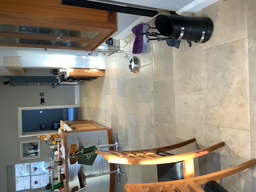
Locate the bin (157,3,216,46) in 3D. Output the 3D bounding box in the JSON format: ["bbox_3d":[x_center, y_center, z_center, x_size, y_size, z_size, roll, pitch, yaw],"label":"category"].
[{"bbox_3d":[0.560,-0.670,2.060,0.320,0.450,0.270,179,90,-66],"label":"bin"}]

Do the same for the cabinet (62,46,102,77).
[{"bbox_3d":[-1.160,-0.840,5.320,0.510,0.900,0.650,-178,87,-66],"label":"cabinet"}]

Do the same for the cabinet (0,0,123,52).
[{"bbox_3d":[-1.070,-0.930,2.660,1.200,1.670,0.430,-177,86,-66],"label":"cabinet"}]
